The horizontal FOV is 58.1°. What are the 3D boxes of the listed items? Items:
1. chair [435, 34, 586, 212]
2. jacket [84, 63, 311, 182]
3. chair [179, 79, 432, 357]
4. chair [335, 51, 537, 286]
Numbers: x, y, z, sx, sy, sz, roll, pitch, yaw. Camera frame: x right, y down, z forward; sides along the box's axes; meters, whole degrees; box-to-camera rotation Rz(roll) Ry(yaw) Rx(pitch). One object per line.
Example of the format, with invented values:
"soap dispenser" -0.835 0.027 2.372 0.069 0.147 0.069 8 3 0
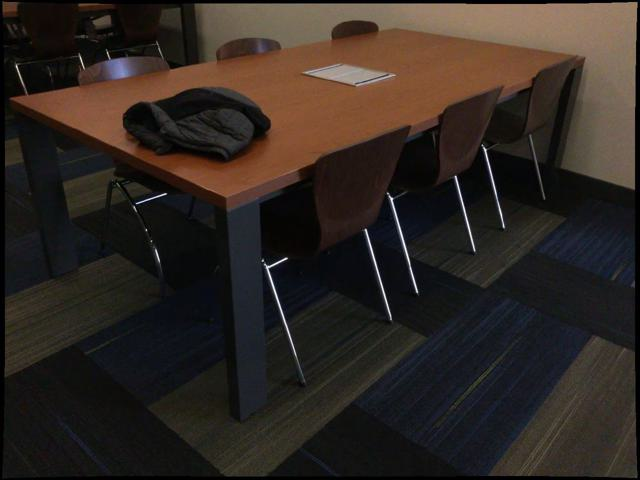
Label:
"chair" 0.997 -0.642 3.040 0.400 0.701 0.690 24 37 33
"jacket" -0.379 -0.401 1.830 0.499 0.150 0.490 24 38 34
"chair" -0.050 -0.120 2.020 0.609 0.671 0.540 24 37 33
"chair" 0.509 -0.361 2.580 0.489 0.751 0.759 24 37 33
